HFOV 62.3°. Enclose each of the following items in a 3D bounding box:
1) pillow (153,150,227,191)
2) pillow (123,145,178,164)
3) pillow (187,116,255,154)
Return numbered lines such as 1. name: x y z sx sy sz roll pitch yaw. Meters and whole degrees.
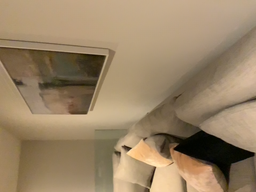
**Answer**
1. pillow: 0.460 0.550 1.530 0.430 0.400 0.110 25 88 33
2. pillow: 0.230 0.620 2.230 0.440 0.340 0.140 -21 65 40
3. pillow: 0.590 0.180 0.960 0.470 0.390 0.120 -26 63 51
